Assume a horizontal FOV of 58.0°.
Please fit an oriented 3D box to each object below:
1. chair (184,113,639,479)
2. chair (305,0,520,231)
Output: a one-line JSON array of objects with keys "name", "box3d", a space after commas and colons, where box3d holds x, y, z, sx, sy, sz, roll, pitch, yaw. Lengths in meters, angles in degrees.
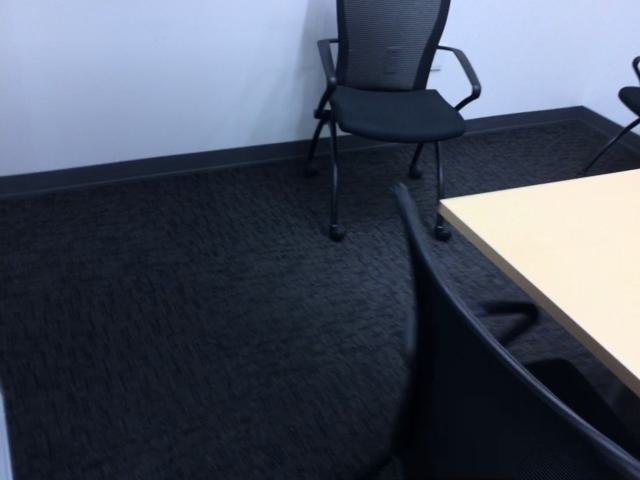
[{"name": "chair", "box3d": [0.160, 0.340, 0.880, 0.580, 0.880, 0.490, -9, 37, -19]}, {"name": "chair", "box3d": [0.270, -0.570, 2.190, 0.570, 0.890, 0.590, 0, 35, -6]}]
